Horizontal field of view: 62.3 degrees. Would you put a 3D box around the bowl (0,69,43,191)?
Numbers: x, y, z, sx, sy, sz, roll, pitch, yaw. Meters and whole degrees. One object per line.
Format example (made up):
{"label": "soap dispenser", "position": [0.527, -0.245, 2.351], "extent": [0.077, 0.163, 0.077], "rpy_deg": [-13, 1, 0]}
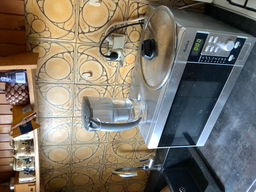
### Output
{"label": "bowl", "position": [-0.520, 0.230, 1.030], "extent": [0.170, 0.170, 0.710], "rpy_deg": [-114, 31, -54]}

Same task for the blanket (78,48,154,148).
{"label": "blanket", "position": [-0.080, -0.010, 0.860], "extent": [0.350, 0.210, 0.240], "rpy_deg": [-114, 31, -54]}

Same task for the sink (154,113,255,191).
{"label": "sink", "position": [0.360, 0.400, 1.160], "extent": [0.500, 0.190, 0.390], "rpy_deg": [-114, 31, -54]}
